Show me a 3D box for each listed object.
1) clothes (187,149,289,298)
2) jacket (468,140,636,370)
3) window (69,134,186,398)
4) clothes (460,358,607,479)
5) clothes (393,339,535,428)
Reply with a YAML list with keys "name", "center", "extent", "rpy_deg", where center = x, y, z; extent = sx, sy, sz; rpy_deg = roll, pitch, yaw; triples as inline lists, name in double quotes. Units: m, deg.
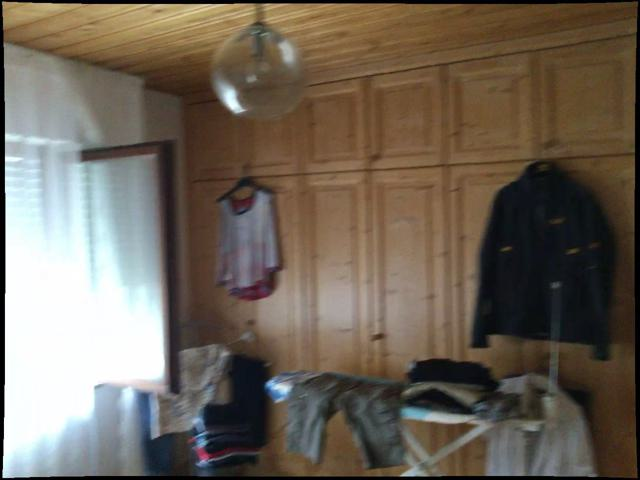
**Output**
- name: "clothes"
  center: [-0.519, -0.100, 3.570]
  extent: [0.720, 0.861, 0.090]
  rpy_deg: [2, 5, 34]
- name: "jacket"
  center: [0.989, 0.050, 2.500]
  extent: [0.630, 0.891, 0.220]
  rpy_deg: [2, 5, 34]
- name: "window"
  center: [-0.999, 0.120, 2.970]
  extent: [0.690, 1.251, 0.120]
  rpy_deg: [2, 5, 35]
- name: "clothes"
  center: [0.939, 1.011, 2.570]
  extent: [0.570, 0.861, 0.210]
  rpy_deg: [2, 5, 34]
- name: "clothes"
  center: [0.619, 0.591, 2.470]
  extent: [0.480, 0.200, 0.390]
  rpy_deg: [1, 5, 34]
